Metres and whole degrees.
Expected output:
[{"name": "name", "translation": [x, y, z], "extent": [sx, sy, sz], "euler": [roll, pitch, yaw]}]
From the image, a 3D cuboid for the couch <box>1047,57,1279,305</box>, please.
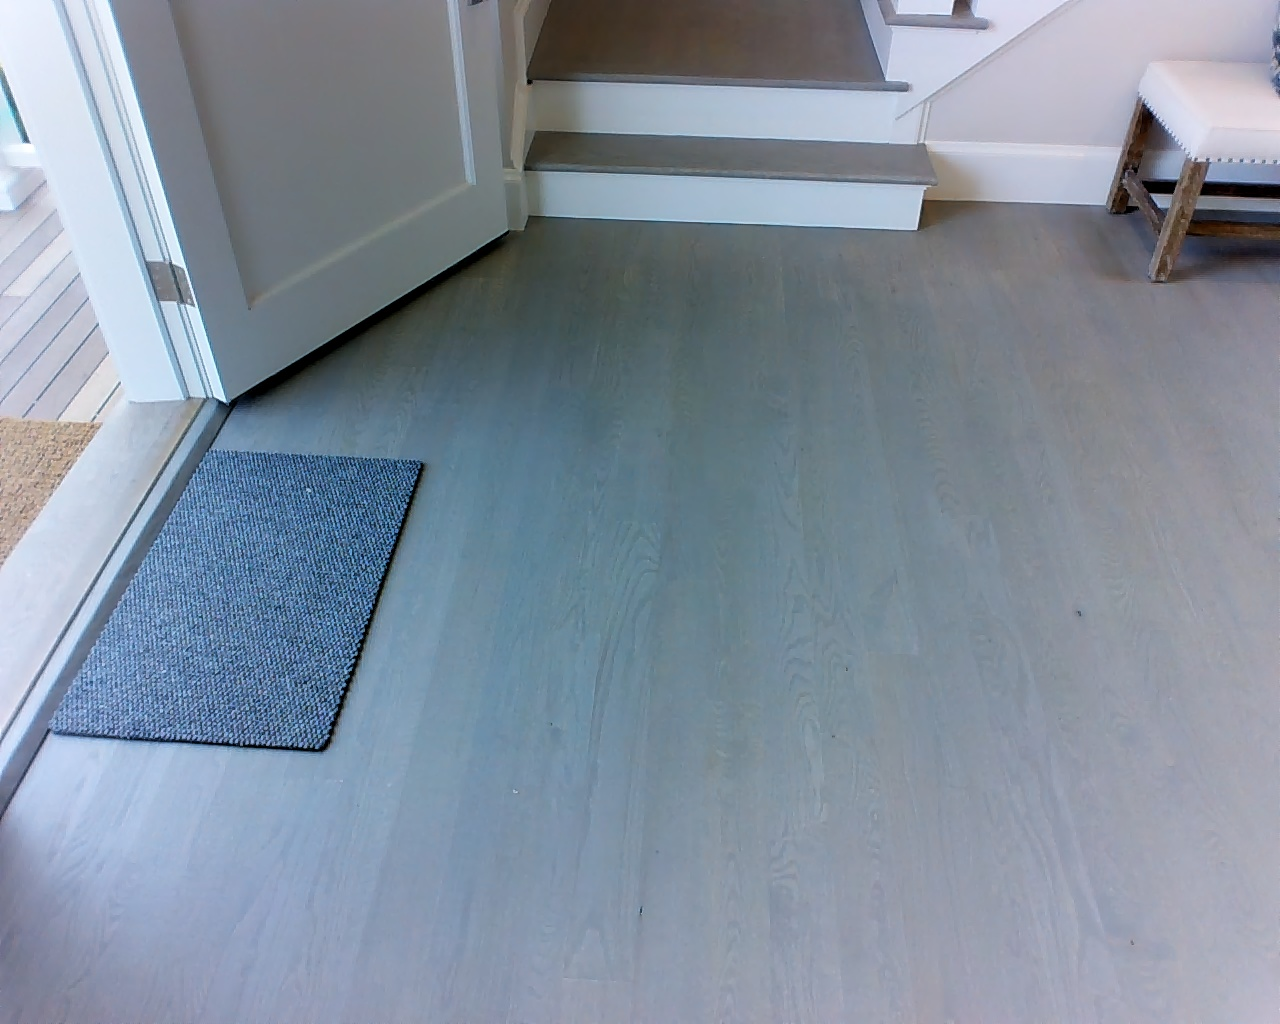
[{"name": "couch", "translation": [2.320, -0.930, 3.110], "extent": [2.020, 0.490, 0.550], "euler": [3, 41, 3]}]
